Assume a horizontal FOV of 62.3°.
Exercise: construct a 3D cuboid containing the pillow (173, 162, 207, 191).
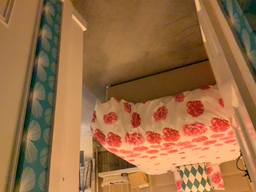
[{"bbox_3d":[0.870,1.160,2.990,0.360,0.360,0.210,-15,149,16],"label":"pillow"}]
